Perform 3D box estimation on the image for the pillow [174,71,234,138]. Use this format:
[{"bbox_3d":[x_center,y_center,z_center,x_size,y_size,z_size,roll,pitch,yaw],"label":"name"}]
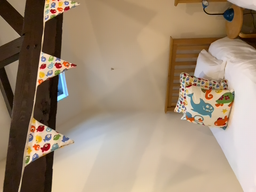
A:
[{"bbox_3d":[0.750,0.080,2.240,0.480,0.400,0.530,-90,-1,-60],"label":"pillow"}]
